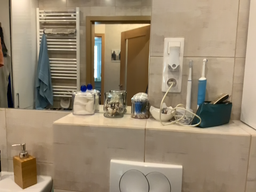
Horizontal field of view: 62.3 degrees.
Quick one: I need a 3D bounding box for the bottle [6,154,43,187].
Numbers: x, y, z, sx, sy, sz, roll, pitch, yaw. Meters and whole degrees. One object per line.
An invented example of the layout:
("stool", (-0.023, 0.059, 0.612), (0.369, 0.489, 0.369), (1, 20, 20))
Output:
("bottle", (-0.460, 0.330, 0.950), (0.110, 0.100, 0.100), (2, 7, 8))
